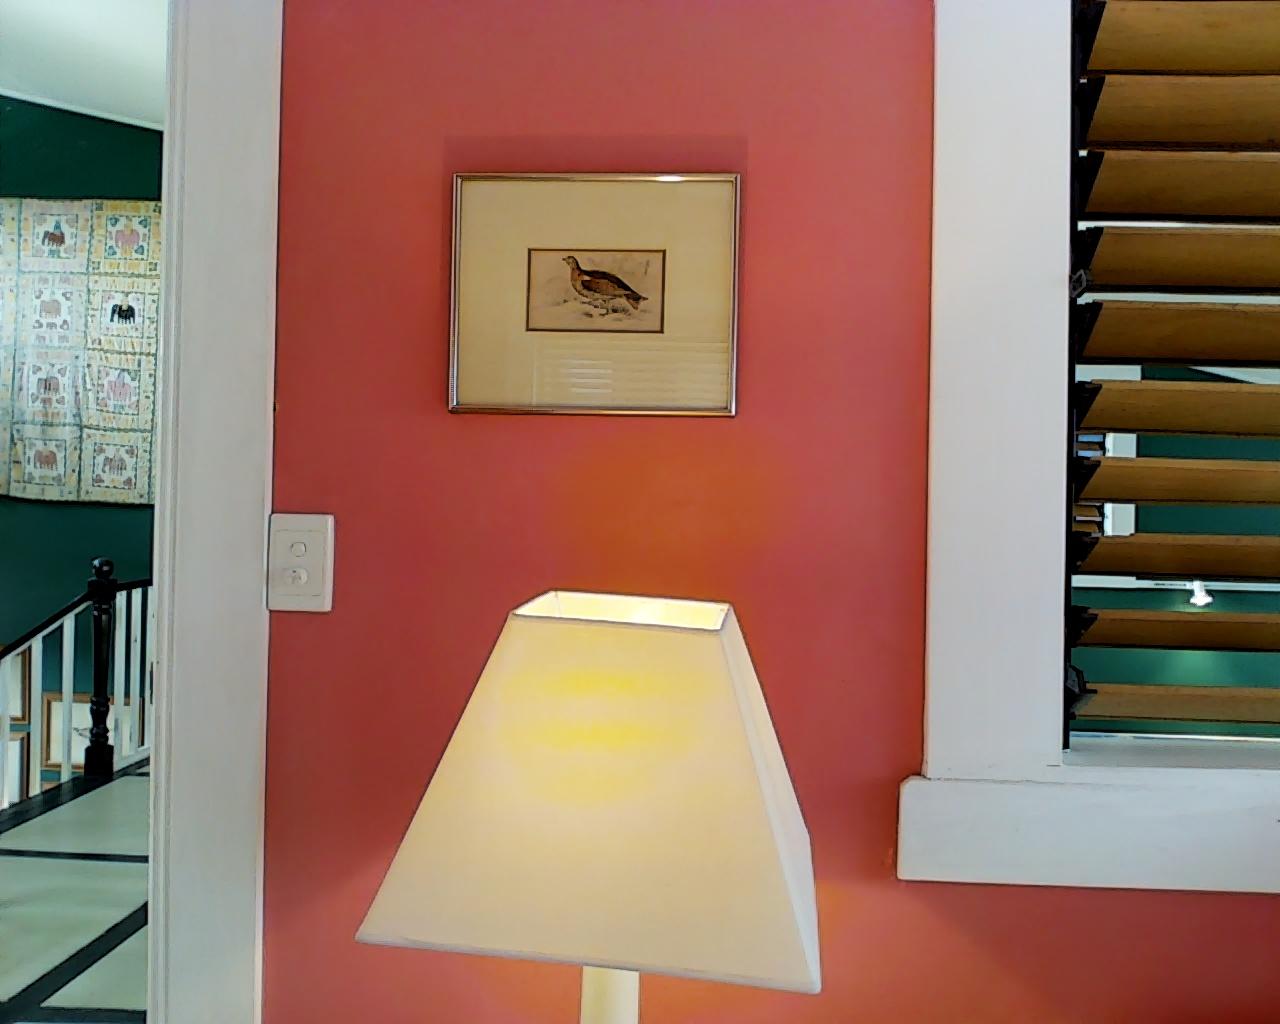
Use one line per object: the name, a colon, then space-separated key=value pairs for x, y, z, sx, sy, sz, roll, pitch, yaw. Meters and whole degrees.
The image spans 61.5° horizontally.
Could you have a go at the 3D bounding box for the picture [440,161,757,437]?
picture: x=-0.050 y=-0.250 z=1.270 sx=0.370 sy=0.320 sz=0.020 roll=1 pitch=0 yaw=3
